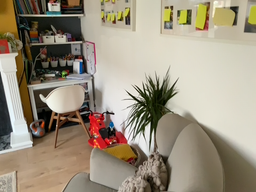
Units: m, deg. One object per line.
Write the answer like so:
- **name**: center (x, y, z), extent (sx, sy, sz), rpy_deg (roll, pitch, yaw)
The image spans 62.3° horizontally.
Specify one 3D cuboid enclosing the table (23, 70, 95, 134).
- **table**: center (-1.070, 0.050, 3.360), extent (0.930, 0.730, 0.530), rpy_deg (-11, 23, -27)
